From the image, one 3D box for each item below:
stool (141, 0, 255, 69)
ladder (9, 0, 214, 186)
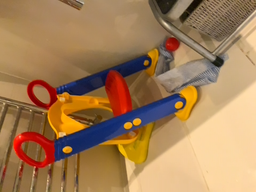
[{"bbox_3d":[0.280,-0.380,0.640,0.430,0.250,0.330,-50,35,34],"label":"stool"},{"bbox_3d":[-0.110,-0.010,0.840,0.540,0.450,0.470,-51,35,33],"label":"ladder"}]
